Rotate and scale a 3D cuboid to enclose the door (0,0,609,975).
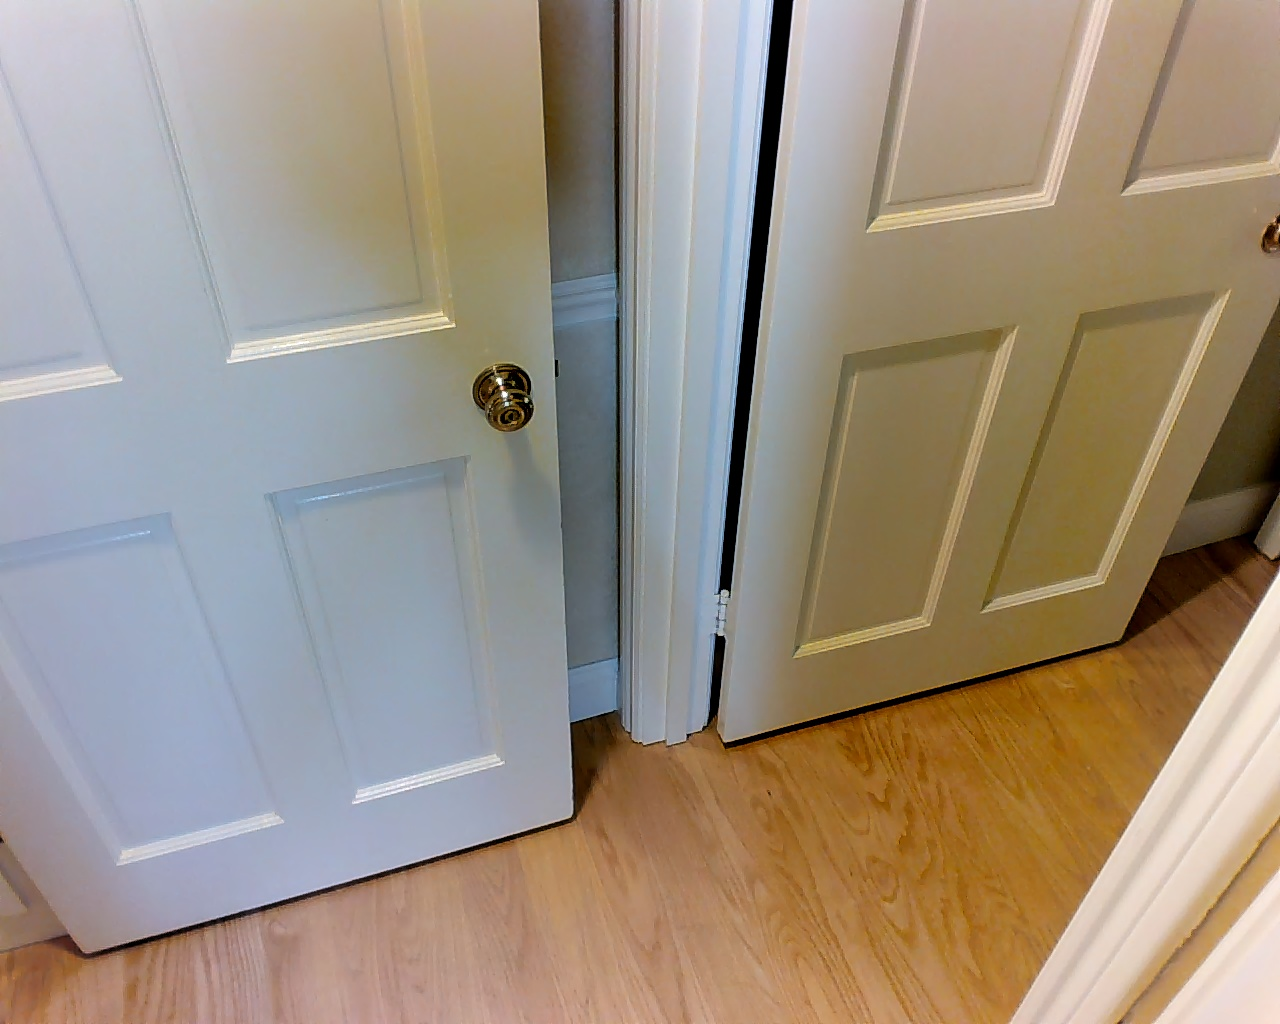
[{"bbox_3d":[-0.420,-0.150,1.080,0.760,1.980,0.100,-13,44,-14],"label":"door"}]
